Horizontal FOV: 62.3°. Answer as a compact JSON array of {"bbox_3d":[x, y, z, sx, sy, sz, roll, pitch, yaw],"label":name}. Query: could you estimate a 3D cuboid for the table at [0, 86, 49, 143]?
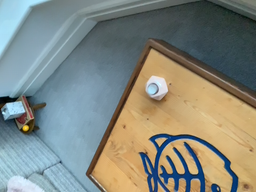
[{"bbox_3d":[-0.990,0.140,1.740,0.310,0.500,0.300,32,113,25],"label":"table"}]
